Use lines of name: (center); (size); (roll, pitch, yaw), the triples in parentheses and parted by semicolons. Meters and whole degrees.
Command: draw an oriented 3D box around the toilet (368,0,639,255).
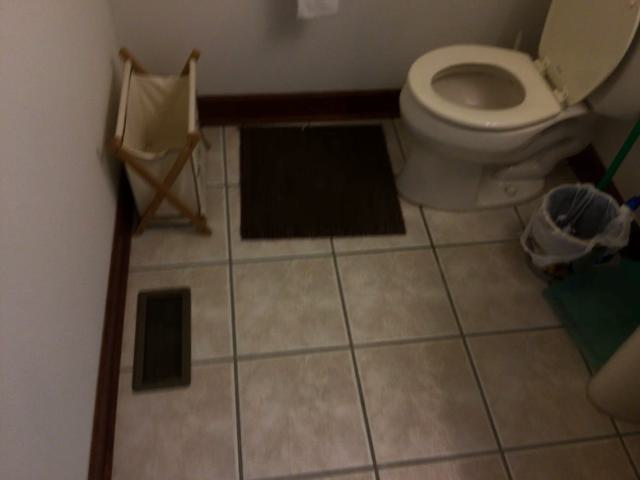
toilet: (0.560, -0.420, 1.580); (0.670, 0.780, 0.510); (-3, 50, -8)
